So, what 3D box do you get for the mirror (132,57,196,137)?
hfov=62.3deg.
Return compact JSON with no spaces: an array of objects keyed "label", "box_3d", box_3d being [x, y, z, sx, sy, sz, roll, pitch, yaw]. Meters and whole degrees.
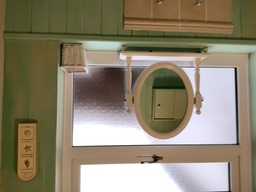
[{"label":"mirror","box_3d":[0.210,0.010,1.290,0.360,0.460,0.140,1,177,-4]}]
